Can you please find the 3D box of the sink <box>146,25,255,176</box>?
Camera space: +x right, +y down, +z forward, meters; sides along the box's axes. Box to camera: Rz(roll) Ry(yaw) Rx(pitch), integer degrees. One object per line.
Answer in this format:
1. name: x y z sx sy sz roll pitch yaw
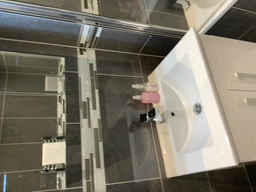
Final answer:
1. sink: 0.310 0.050 1.080 0.460 0.150 0.620 131 136 -57
